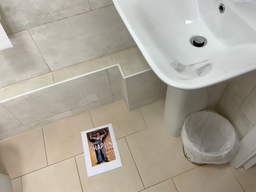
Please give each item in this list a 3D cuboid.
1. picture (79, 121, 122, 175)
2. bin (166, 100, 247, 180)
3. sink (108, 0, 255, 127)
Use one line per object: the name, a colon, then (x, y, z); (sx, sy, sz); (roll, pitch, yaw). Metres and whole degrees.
picture: (-0.180, 0.320, 1.340); (0.210, 0.030, 0.290); (-17, 57, -7)
bin: (0.410, 0.250, 1.180); (0.260, 0.280, 0.260); (-27, 59, -13)
sink: (0.220, -0.250, 0.780); (0.450, 0.190, 0.590); (-17, 57, -7)
